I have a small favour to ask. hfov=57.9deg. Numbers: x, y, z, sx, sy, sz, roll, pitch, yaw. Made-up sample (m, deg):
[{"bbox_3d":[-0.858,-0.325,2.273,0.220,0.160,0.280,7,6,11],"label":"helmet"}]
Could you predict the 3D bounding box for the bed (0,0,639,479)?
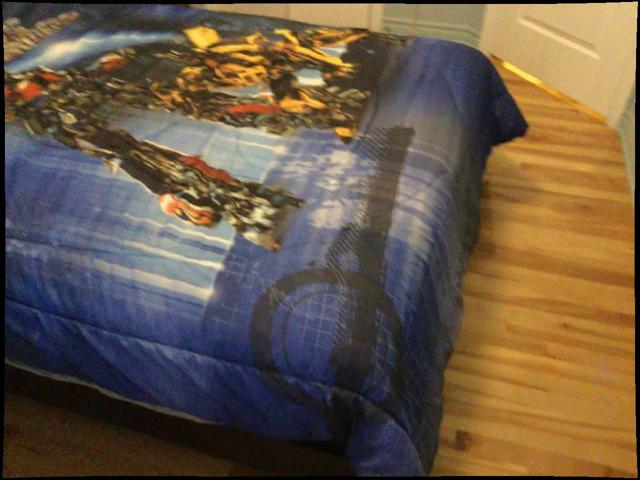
[{"bbox_3d":[-0.569,-0.440,1.560,2.258,0.991,1.701,11,43,13],"label":"bed"}]
